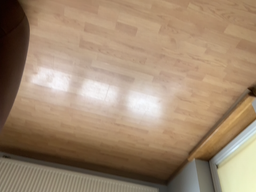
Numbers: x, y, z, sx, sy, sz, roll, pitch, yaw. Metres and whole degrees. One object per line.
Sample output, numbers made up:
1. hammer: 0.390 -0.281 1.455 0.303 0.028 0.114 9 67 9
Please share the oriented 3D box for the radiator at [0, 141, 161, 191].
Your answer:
1. radiator: -0.560 1.060 2.280 1.880 0.710 0.250 16 133 -10
